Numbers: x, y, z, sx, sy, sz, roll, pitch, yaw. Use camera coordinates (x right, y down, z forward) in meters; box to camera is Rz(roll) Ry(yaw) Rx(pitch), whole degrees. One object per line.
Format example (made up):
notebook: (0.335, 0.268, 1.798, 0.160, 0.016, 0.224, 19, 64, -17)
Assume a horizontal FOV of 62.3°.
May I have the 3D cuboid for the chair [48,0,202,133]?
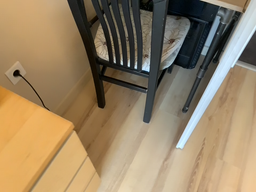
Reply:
chair: (0.060, -0.360, 1.140, 0.490, 0.960, 0.650, 22, 60, 12)
